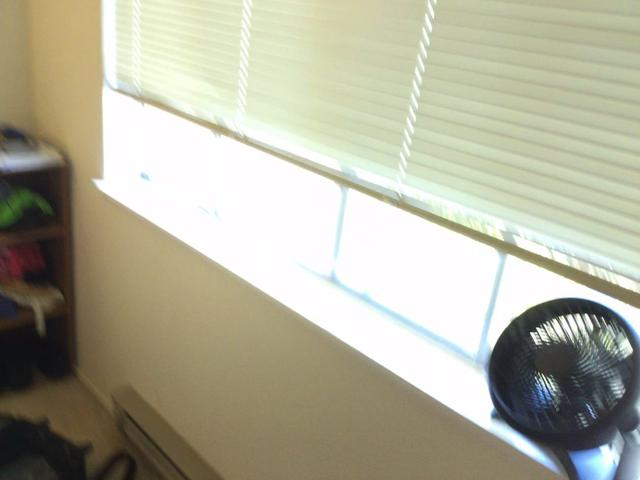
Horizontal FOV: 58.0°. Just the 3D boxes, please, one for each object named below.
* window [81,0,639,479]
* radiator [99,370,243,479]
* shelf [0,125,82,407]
[{"bbox_3d":[-0.020,-0.380,1.170,1.810,1.230,0.110,24,25,39],"label":"window"},{"bbox_3d":[-0.180,0.830,1.580,1.620,0.210,0.090,24,25,39],"label":"radiator"},{"bbox_3d":[-1.270,0.110,2.040,0.380,0.950,0.690,24,25,38],"label":"shelf"}]
